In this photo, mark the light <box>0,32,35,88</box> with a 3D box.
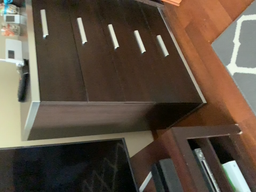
[{"bbox_3d":[-0.750,-0.200,1.130,0.190,0.440,0.230,-45,51,48],"label":"light"}]
